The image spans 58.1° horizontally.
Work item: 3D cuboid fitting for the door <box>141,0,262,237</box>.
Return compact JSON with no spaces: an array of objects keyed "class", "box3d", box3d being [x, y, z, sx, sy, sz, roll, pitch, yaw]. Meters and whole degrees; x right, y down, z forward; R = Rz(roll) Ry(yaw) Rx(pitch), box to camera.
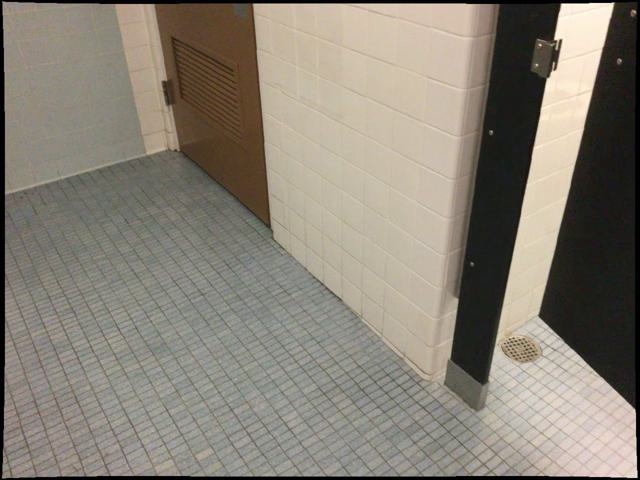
[{"class":"door","box3d":[-0.509,-0.732,2.310,0.060,1.272,0.800,-22,38,-29]}]
